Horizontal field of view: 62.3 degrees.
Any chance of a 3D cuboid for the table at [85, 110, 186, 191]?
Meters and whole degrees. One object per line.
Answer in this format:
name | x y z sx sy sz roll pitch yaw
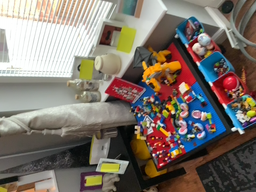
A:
table | 0.020 0.550 1.860 0.600 0.470 0.590 -52 52 43
